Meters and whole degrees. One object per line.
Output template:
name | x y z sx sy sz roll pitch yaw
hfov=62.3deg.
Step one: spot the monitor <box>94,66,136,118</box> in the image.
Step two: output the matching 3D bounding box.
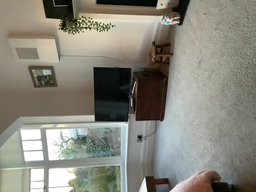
monitor | -0.210 -0.040 3.240 0.060 0.590 0.840 -108 19 -63
